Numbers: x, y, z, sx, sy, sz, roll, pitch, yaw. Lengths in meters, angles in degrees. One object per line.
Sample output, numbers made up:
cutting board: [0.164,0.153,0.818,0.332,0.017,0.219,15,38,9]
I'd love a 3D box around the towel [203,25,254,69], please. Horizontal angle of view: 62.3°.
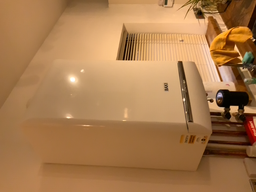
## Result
towel: [0.640,-0.320,1.390,0.150,0.220,0.230,-83,-6,-50]

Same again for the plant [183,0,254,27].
plant: [0.670,-0.740,1.620,0.350,0.410,0.290,-84,-6,-49]
